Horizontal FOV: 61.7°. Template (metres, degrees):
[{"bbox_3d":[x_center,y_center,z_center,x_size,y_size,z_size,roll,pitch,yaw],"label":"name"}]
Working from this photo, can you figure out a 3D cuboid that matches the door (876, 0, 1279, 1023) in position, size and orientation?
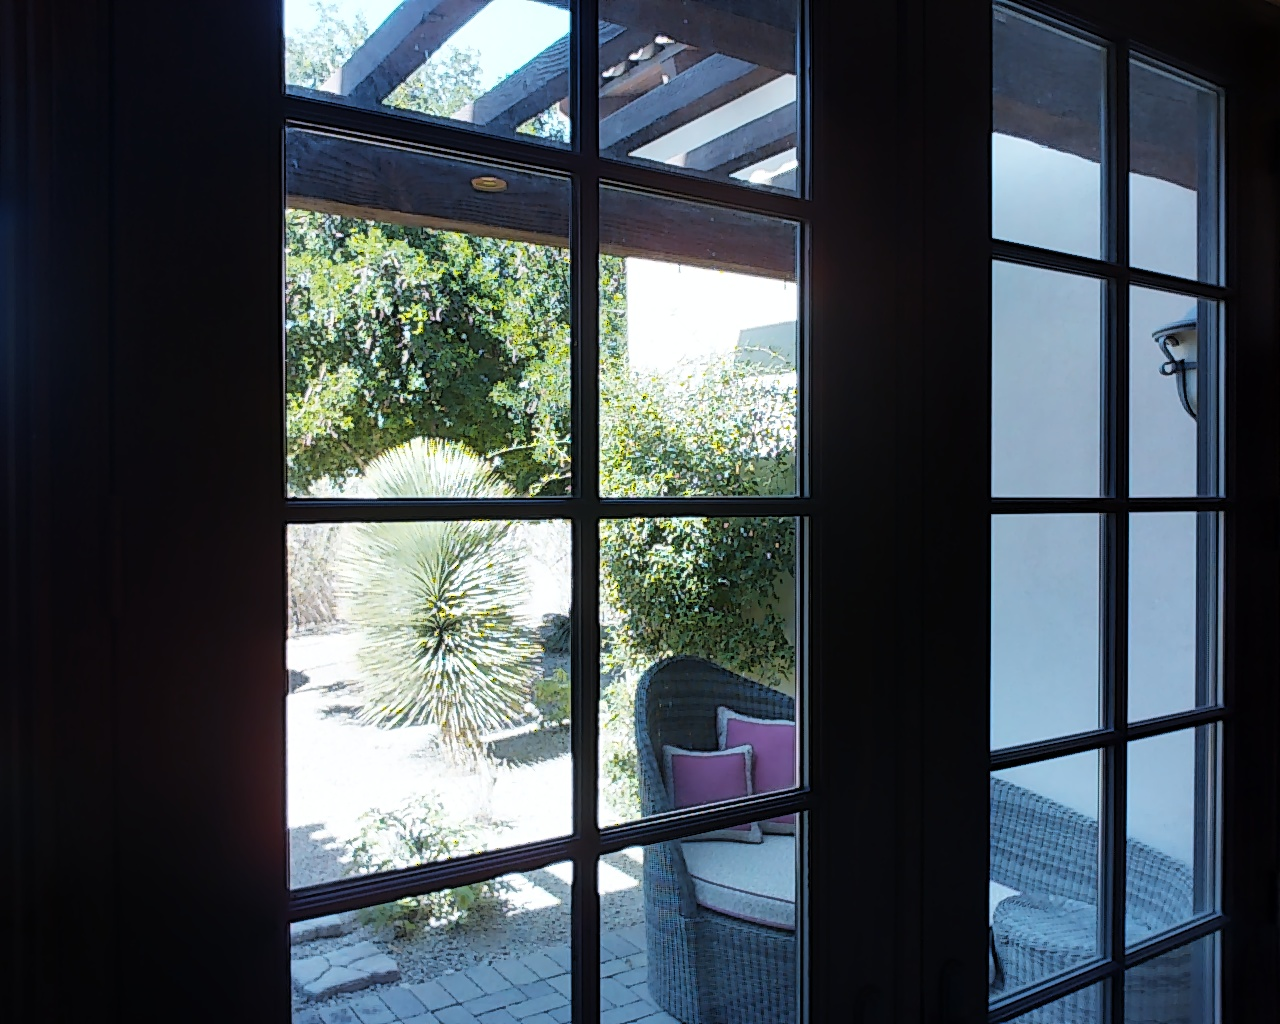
[{"bbox_3d":[0.720,0.380,1.560,0.960,2.350,0.110,0,0,-35],"label":"door"}]
